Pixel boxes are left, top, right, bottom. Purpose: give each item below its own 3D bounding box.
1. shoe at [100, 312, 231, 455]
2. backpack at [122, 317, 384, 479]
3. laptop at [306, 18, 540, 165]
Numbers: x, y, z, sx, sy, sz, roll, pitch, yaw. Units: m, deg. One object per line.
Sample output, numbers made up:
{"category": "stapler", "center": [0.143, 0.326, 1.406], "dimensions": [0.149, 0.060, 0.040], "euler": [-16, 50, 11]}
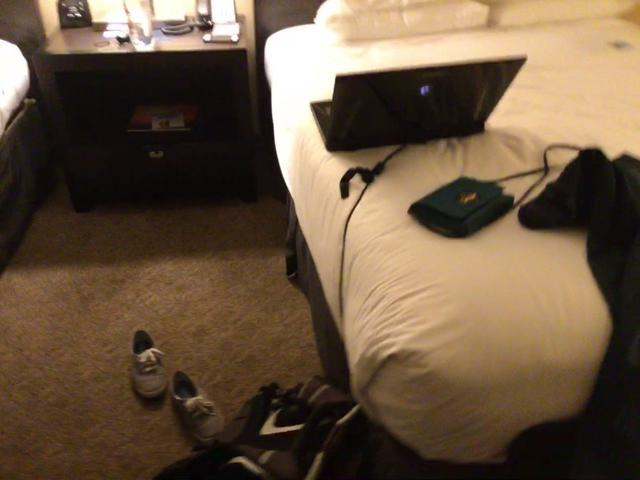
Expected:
{"category": "shoe", "center": [-0.410, 0.380, 1.630], "dimensions": [0.310, 0.070, 0.460], "euler": [-1, 32, -8]}
{"category": "backpack", "center": [-0.150, 0.480, 1.270], "dimensions": [0.460, 0.350, 0.520], "euler": [-1, 32, -8]}
{"category": "laptop", "center": [0.220, -0.380, 1.450], "dimensions": [0.460, 0.250, 0.370], "euler": [-1, 32, -8]}
